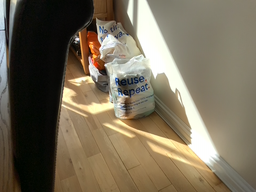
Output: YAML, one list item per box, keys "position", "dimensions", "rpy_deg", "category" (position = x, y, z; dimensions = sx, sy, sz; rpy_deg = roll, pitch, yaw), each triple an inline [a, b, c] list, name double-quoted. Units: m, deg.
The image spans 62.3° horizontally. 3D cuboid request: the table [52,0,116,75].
- position: [-0.490, -0.780, 2.260]
  dimensions: [0.400, 0.760, 0.830]
  rpy_deg: [-16, 39, -23]
  category: "table"
